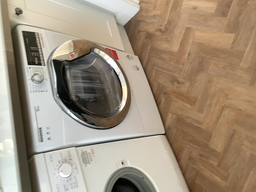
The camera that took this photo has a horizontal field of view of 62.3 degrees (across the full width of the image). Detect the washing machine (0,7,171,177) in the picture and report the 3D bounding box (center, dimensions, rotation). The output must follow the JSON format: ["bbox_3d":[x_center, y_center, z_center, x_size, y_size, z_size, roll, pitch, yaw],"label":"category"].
[{"bbox_3d":[-0.340,0.060,1.290,0.640,0.920,0.590,-31,67,38],"label":"washing machine"}]
